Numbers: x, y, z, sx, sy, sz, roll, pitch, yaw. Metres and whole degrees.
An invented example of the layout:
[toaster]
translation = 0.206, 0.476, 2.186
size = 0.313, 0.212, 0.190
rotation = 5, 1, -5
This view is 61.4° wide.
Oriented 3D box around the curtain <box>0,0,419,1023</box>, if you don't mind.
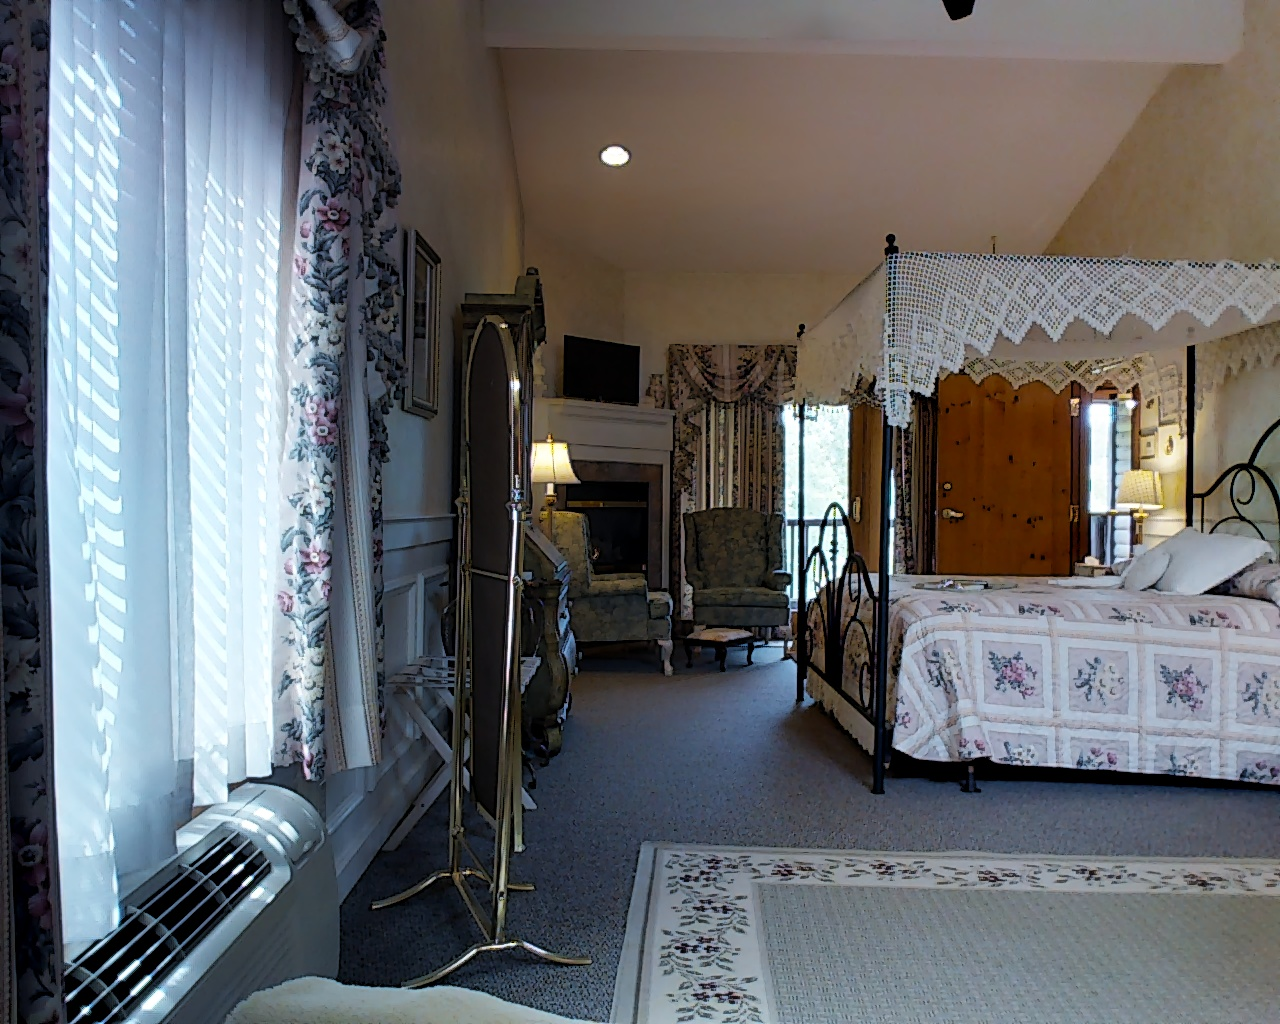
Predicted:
[curtain]
translation = -0.600, -0.310, 1.610
size = 0.200, 1.940, 1.830
rotation = 0, 0, -1
